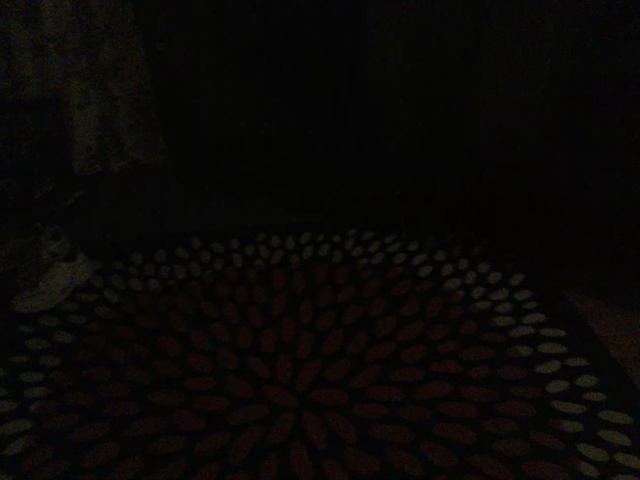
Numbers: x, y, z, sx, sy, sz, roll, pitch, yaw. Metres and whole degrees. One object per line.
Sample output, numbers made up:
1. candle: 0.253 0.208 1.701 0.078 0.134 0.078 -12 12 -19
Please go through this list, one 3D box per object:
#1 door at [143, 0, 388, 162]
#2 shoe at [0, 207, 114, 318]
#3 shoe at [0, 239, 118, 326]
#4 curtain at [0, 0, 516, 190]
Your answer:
1. door: -0.250 -1.170 2.740 1.130 1.540 0.190 -6 30 -6
2. shoe: -1.010 0.070 2.130 0.380 0.130 0.510 -6 31 -6
3. shoe: -0.920 0.140 2.030 0.240 0.110 0.300 16 35 28
4. curtain: -0.340 -1.140 2.650 2.460 1.600 0.350 -6 30 -6
